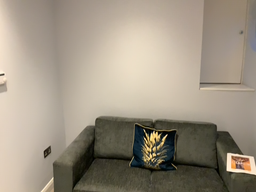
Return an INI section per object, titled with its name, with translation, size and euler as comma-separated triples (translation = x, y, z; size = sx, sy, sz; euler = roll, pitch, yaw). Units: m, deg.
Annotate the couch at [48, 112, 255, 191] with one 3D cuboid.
[couch]
translation = 0.240, 0.710, 2.180
size = 1.680, 0.790, 0.970
euler = 2, 12, 10
